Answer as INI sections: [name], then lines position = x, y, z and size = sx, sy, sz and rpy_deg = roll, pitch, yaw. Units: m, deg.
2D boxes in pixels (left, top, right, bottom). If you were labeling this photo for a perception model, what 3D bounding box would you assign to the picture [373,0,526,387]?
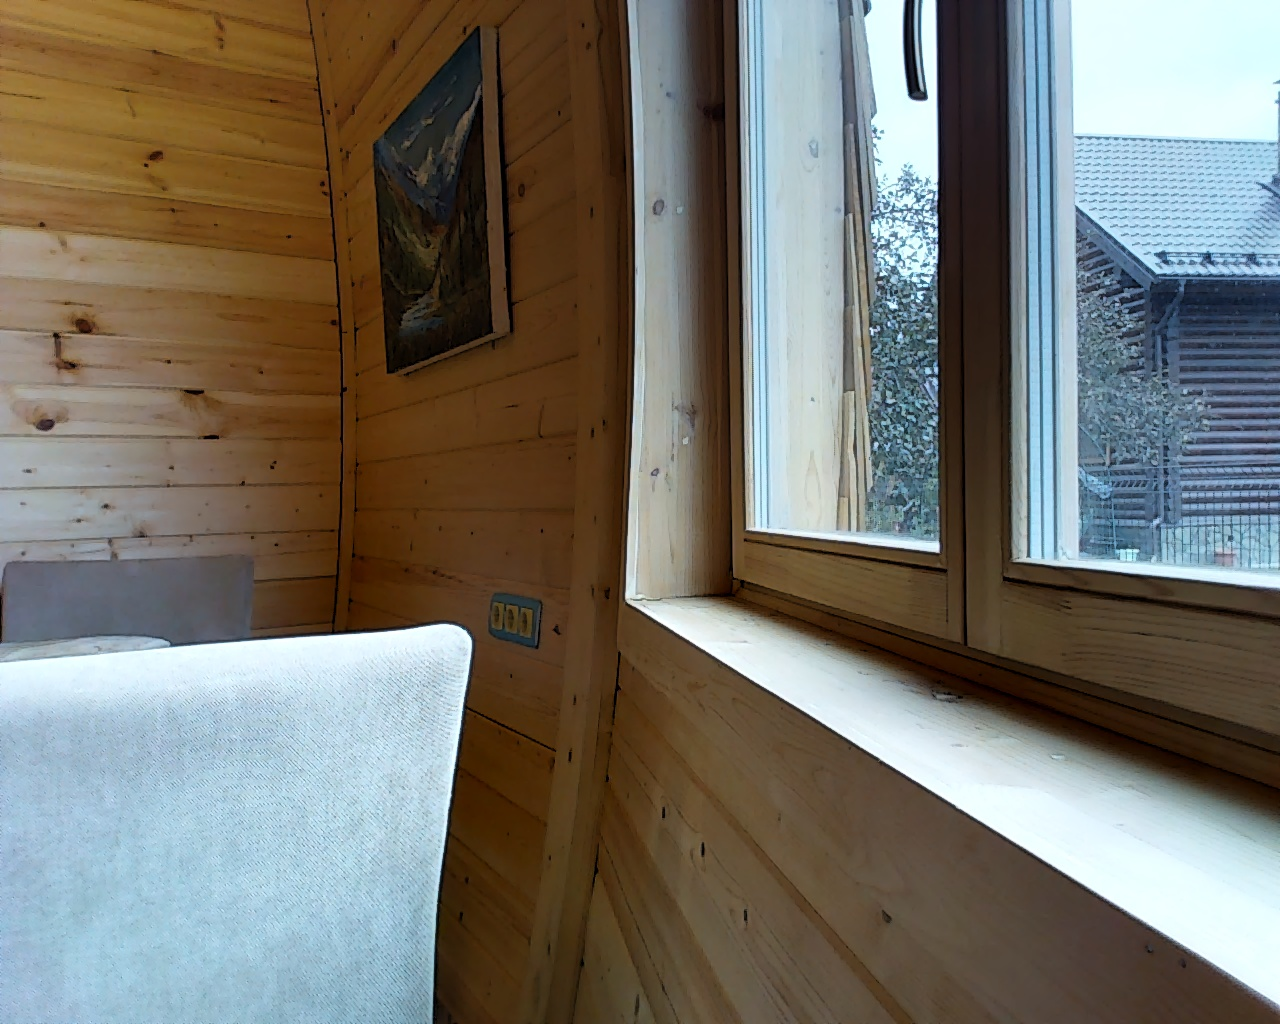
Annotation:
[picture]
position = -0.460, -0.660, 2.460
size = 0.090, 0.660, 0.820
rpy_deg = -1, 1, -27
